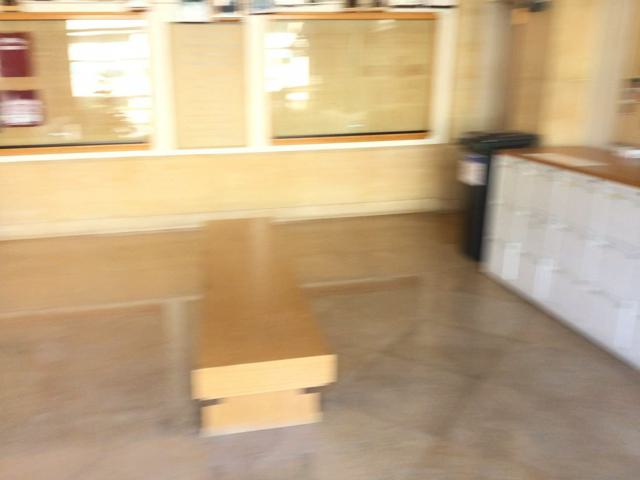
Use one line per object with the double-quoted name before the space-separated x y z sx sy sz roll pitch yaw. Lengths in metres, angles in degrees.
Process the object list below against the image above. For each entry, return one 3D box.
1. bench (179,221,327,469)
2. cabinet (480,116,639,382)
"bench" -0.400 0.390 3.380 0.560 0.450 2.230 -4 16 -7
"cabinet" 1.810 -0.030 3.240 0.790 1.120 2.310 -5 16 -10
